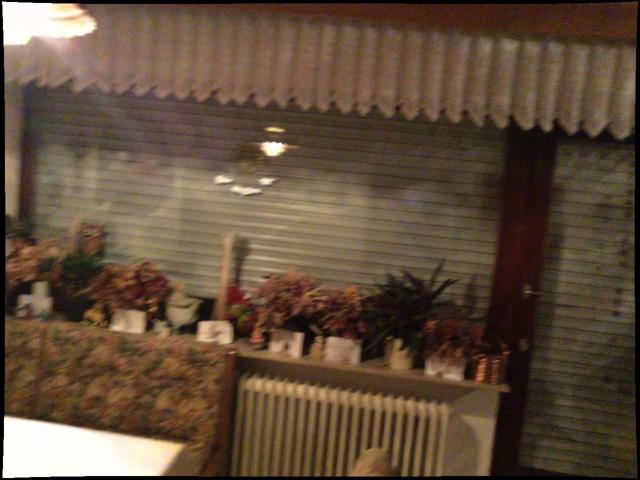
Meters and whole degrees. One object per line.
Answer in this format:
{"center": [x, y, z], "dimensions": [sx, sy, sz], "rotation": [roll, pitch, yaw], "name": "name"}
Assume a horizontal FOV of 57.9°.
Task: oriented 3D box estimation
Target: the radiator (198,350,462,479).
{"center": [0.030, 0.961, 2.670], "dimensions": [1.119, 0.691, 0.220], "rotation": [8, 5, 9], "name": "radiator"}
